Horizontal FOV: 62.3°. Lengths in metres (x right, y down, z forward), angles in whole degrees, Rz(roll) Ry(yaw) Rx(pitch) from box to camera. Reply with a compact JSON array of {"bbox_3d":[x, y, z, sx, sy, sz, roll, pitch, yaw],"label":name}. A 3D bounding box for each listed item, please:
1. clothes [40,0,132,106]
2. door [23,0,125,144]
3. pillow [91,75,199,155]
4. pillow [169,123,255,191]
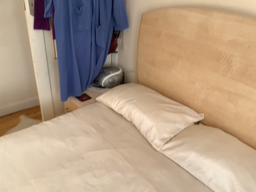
[{"bbox_3d":[-0.290,-0.630,1.590,0.630,1.330,0.220,-20,39,-35],"label":"clothes"},{"bbox_3d":[-0.390,-0.520,1.800,0.840,1.990,0.060,-20,39,-35],"label":"door"},{"bbox_3d":[0.090,0.080,1.530,0.420,0.140,0.670,-19,38,-34],"label":"pillow"},{"bbox_3d":[0.550,0.390,1.110,0.360,0.120,0.540,-19,38,-34],"label":"pillow"}]
